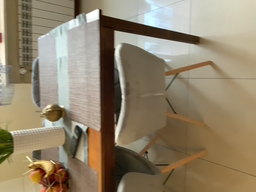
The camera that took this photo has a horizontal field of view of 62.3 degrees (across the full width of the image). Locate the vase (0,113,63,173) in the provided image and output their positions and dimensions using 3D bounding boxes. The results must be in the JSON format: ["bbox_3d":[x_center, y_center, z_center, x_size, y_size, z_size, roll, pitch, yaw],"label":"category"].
[{"bbox_3d":[-0.550,0.220,1.030,0.180,0.410,0.210,8,98,49],"label":"vase"}]
